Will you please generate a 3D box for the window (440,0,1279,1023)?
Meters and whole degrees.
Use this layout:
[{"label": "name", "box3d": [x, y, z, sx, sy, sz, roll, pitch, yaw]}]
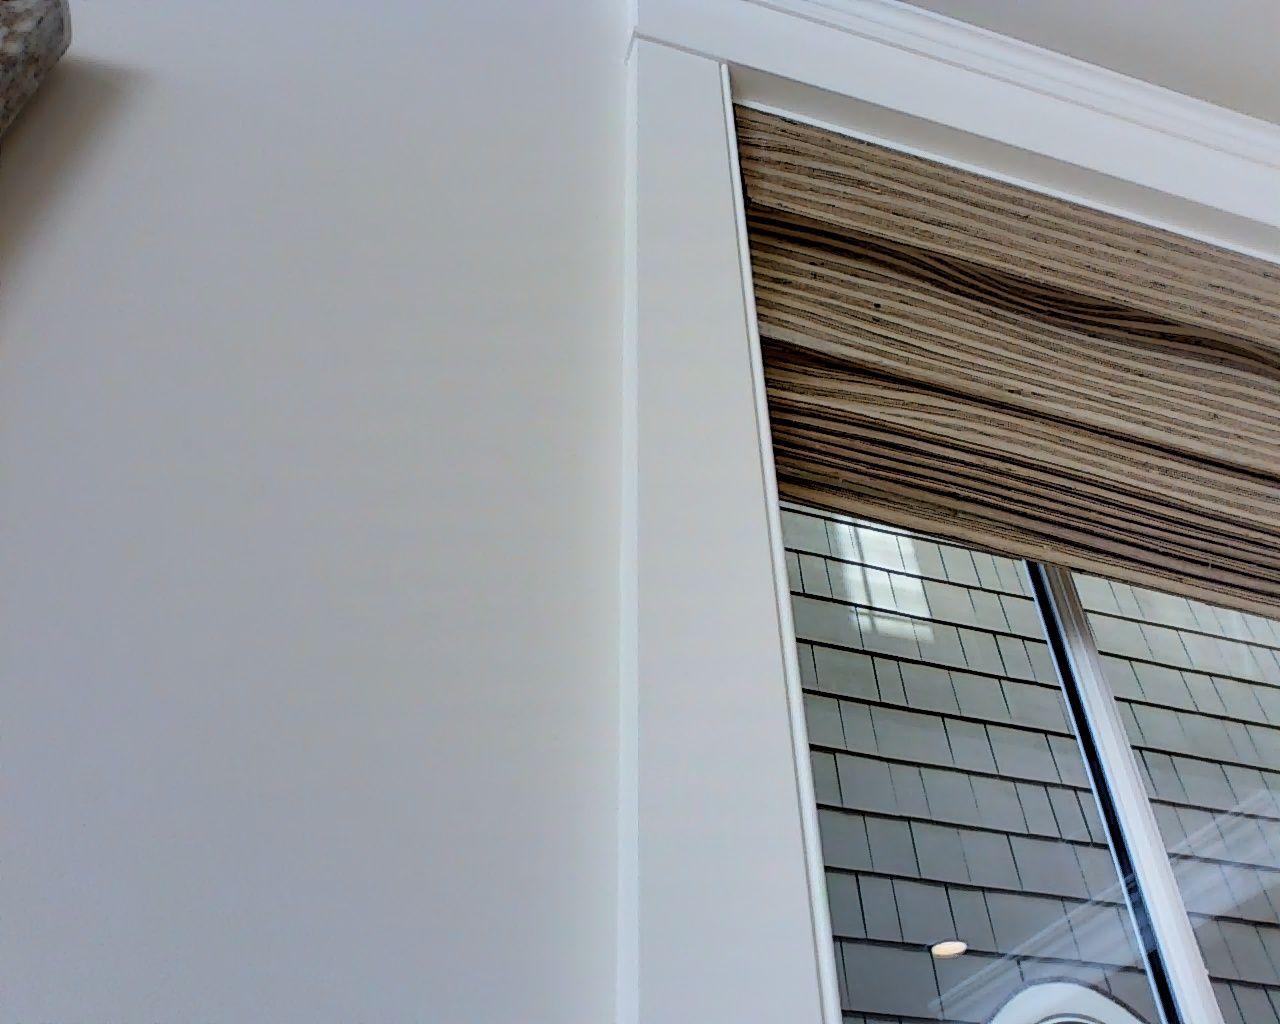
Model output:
[{"label": "window", "box3d": [0.370, 0.410, 0.640, 0.949, 2.111, 0.390, 12, -43, -12]}]
